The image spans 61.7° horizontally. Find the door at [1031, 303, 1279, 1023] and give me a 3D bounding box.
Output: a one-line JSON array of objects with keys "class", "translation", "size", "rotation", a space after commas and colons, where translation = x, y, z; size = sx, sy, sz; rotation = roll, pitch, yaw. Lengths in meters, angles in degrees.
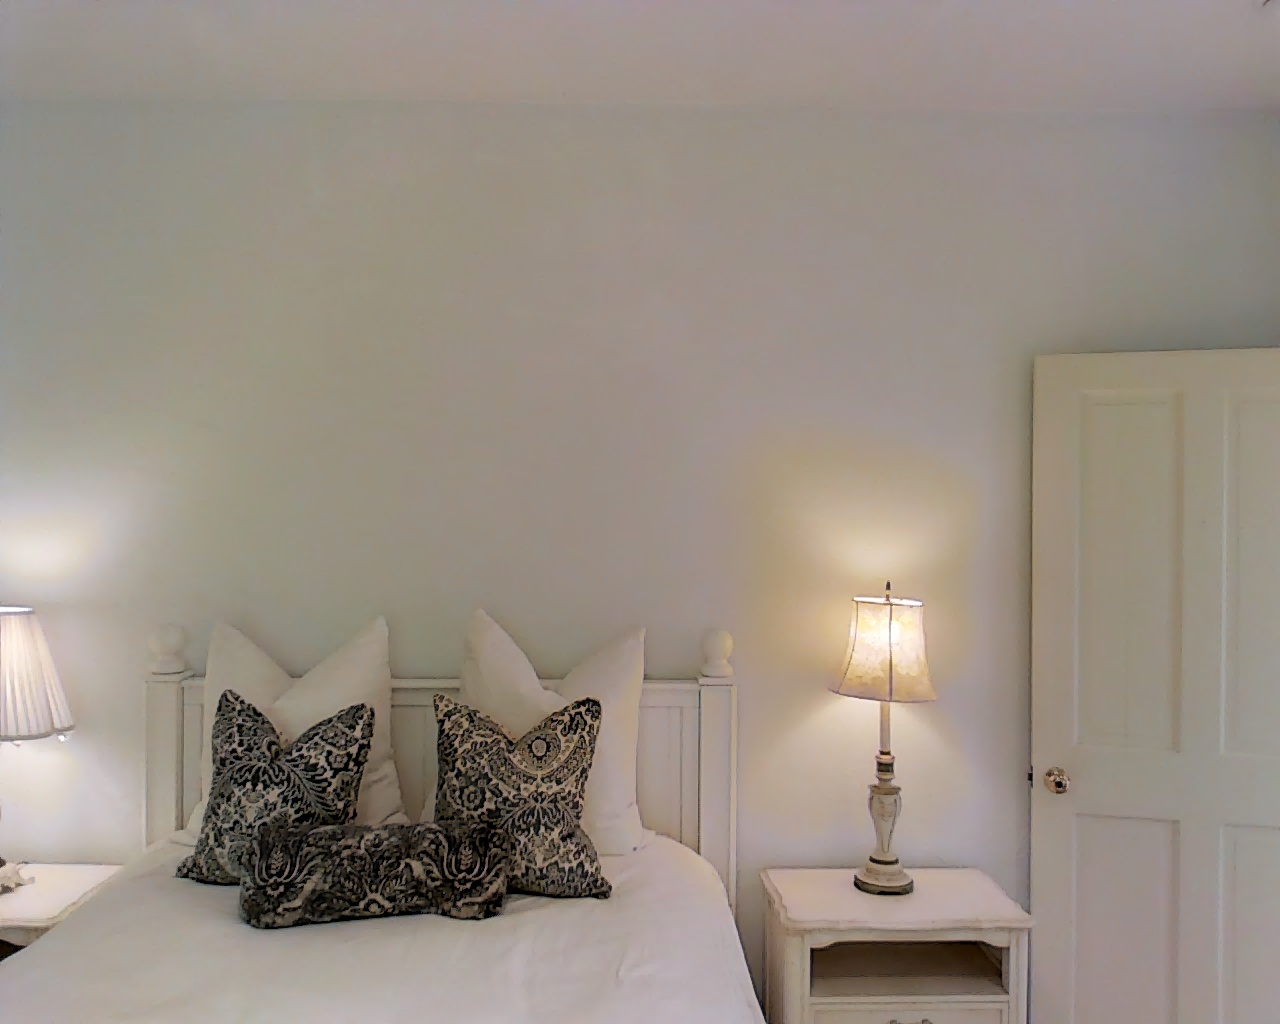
[{"class": "door", "translation": [1.460, 0.550, 2.750], "size": [0.840, 2.141, 0.090], "rotation": [0, 0, 17]}]

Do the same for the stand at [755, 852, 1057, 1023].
[{"class": "stand", "translation": [0.640, 1.270, 2.710], "size": [0.640, 0.670, 0.470], "rotation": [1, 0, -1]}]
